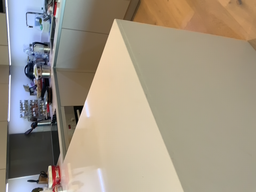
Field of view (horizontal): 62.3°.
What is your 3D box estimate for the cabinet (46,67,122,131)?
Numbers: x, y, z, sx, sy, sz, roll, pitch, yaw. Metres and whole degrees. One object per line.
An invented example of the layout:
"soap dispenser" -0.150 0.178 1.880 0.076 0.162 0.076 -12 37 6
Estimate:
"cabinet" -0.690 0.050 3.180 0.630 0.910 0.650 -59 40 46
